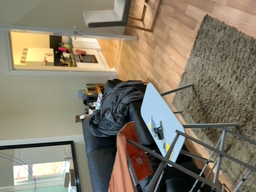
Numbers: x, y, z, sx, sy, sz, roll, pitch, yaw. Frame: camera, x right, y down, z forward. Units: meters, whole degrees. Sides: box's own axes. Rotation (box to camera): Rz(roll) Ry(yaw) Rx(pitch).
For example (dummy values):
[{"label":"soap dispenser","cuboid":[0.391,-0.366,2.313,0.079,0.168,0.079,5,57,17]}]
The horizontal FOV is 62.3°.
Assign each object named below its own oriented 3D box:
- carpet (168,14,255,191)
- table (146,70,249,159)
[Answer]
[{"label":"carpet","cuboid":[0.820,0.070,1.660,1.490,0.060,1.030,-119,35,-52]},{"label":"table","cuboid":[0.540,0.120,1.850,0.640,0.470,0.450,-121,36,-54]}]
